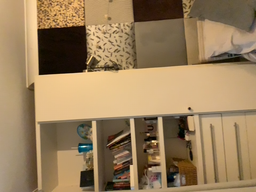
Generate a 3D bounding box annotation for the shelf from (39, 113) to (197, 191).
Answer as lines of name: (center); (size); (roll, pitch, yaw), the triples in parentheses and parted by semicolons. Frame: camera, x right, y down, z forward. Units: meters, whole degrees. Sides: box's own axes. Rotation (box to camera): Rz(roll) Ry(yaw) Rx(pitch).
shelf: (-0.110, 0.540, 2.130); (0.350, 1.440, 0.680); (62, -154, -85)
